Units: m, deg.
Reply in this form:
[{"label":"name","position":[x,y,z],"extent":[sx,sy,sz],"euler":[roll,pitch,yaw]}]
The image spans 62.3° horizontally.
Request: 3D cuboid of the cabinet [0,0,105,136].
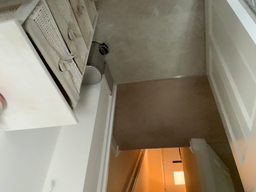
[{"label":"cabinet","position":[-0.340,-0.310,0.920],"extent":[0.280,0.830,0.430],"euler":[-7,137,10]}]
